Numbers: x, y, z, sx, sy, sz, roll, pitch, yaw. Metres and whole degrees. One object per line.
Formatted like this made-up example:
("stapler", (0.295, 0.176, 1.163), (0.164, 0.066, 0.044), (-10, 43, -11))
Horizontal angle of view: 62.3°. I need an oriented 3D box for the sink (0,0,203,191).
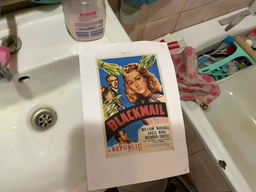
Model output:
("sink", (-0.190, 0.040, 0.470), (0.510, 0.170, 0.420), (-23, 71, -16))
